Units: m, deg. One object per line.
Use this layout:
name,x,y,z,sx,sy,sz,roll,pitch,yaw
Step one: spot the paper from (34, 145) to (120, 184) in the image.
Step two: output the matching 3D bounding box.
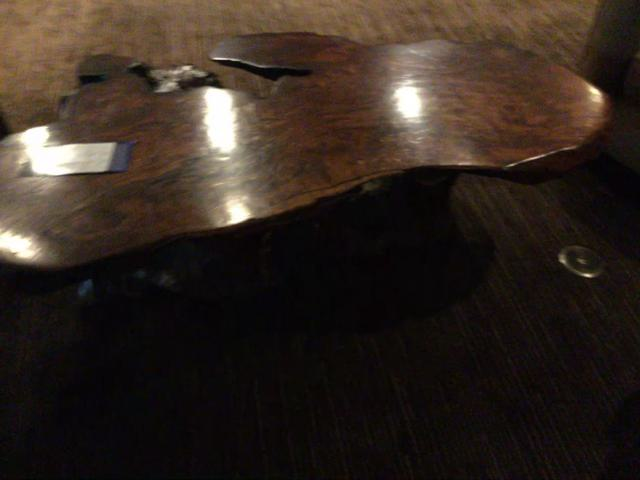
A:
paper,-0.510,-0.160,1.220,0.150,0.010,0.110,-1,47,-1
